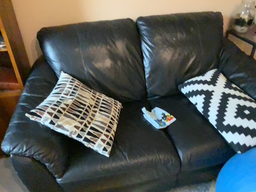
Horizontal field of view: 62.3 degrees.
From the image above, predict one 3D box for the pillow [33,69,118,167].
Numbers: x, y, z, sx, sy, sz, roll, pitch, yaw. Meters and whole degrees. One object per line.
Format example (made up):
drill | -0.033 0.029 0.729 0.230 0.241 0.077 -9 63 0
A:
pillow | -0.260 0.090 1.210 0.120 0.420 0.490 49 14 -20
